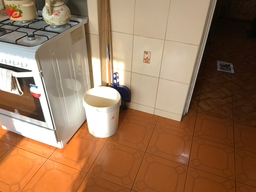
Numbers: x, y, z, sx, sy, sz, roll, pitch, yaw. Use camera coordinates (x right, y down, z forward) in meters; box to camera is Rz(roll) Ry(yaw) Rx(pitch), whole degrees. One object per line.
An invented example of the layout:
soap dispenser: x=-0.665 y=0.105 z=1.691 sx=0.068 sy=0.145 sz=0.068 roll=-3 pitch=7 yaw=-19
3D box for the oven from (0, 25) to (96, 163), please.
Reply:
oven: x=-0.690 y=-0.050 z=1.730 sx=0.580 sy=0.790 sz=0.640 roll=16 pitch=38 yaw=17
